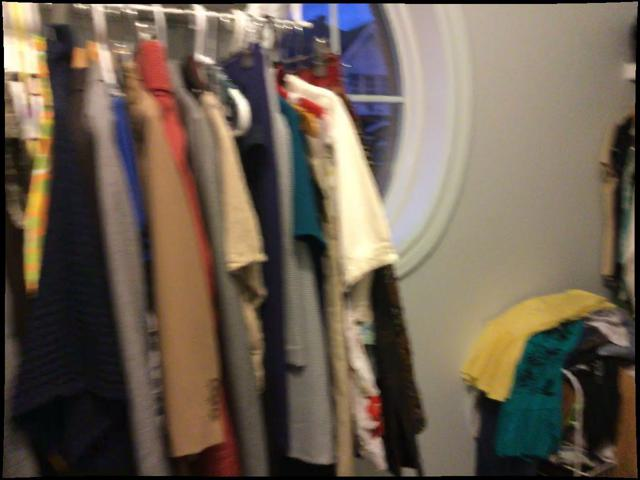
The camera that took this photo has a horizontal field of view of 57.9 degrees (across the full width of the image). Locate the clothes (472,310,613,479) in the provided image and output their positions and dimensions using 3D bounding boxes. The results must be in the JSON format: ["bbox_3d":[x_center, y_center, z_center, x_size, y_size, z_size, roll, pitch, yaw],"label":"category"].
[{"bbox_3d":[0.639,0.440,1.660,0.320,0.390,0.210,-8,9,-27],"label":"clothes"}]

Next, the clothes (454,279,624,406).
[{"bbox_3d":[0.669,0.290,1.750,0.490,0.240,0.200,-8,9,-27],"label":"clothes"}]
